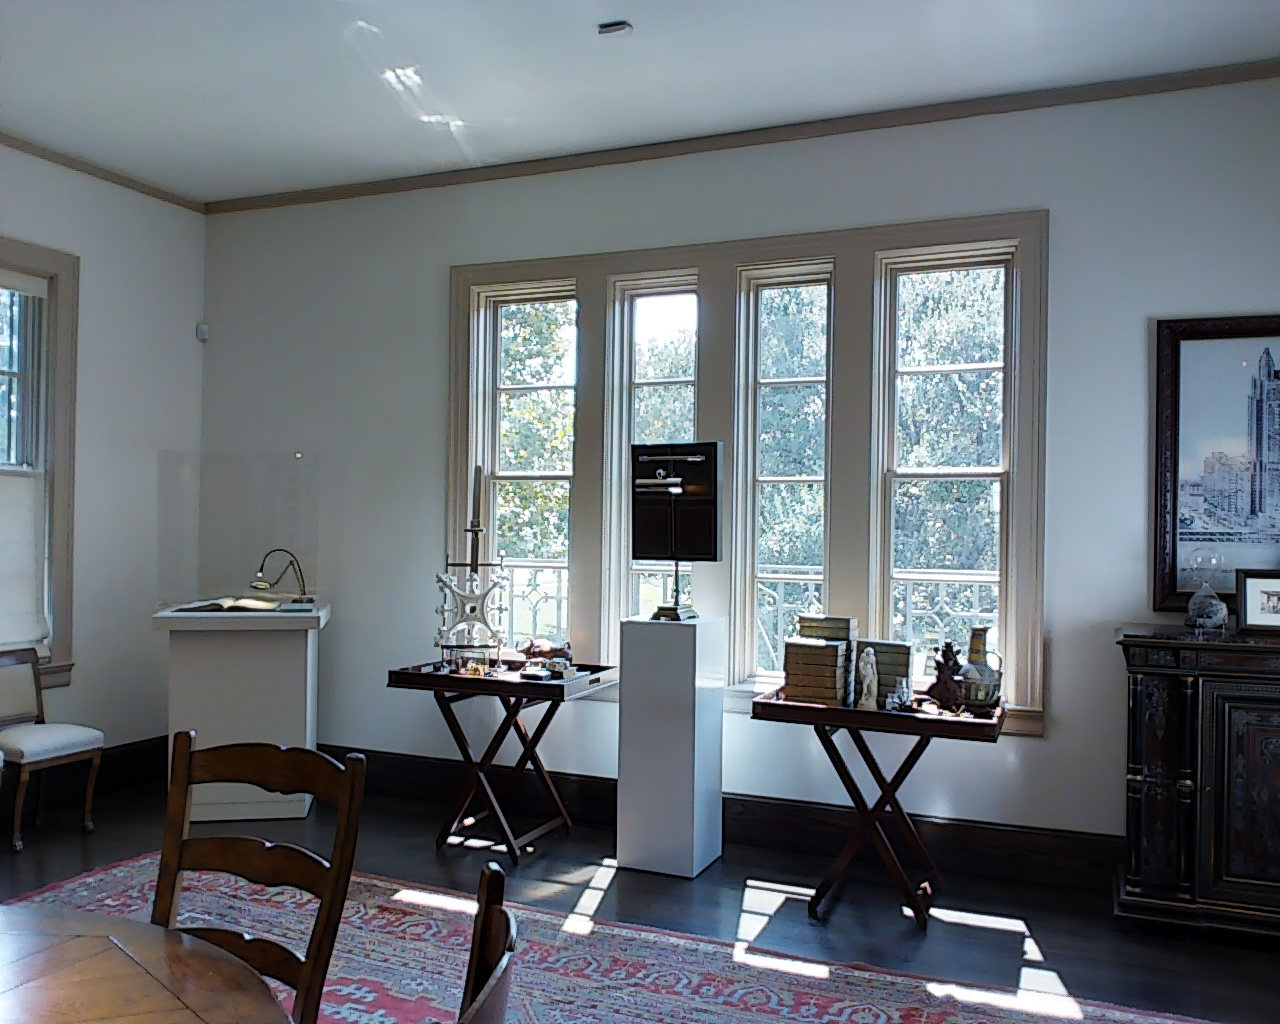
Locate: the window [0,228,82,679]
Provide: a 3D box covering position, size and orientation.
[{"bbox_3d":[-3.230,-0.280,4.990,0.220,2.150,1.250,1,0,23],"label":"window"}]

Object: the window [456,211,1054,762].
[{"bbox_3d":[0.420,-0.120,5.190,2.930,2.320,0.200,1,0,23],"label":"window"}]

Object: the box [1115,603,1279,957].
[{"bbox_3d":[2.450,0.970,3.940,1.270,1.180,0.500,1,0,23],"label":"box"}]
